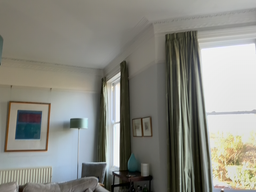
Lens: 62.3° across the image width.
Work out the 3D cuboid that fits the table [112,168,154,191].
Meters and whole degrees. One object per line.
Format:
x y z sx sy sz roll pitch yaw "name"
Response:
0.060 1.580 3.190 0.400 0.830 0.620 4 -11 -25 "table"
